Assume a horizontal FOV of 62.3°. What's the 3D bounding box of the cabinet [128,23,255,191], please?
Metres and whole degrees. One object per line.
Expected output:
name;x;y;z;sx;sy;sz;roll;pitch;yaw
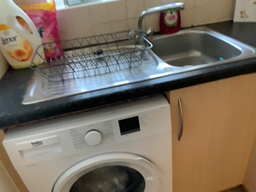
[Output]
cabinet;0.330;0.140;1.330;0.410;0.970;0.680;-12;32;-8
